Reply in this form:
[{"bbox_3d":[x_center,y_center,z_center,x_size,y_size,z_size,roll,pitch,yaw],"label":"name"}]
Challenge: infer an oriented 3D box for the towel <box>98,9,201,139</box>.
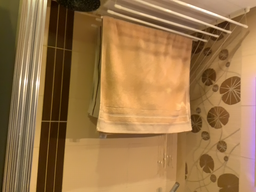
[{"bbox_3d":[0.180,-0.100,1.450,0.700,0.740,0.170,6,-5,-31],"label":"towel"}]
